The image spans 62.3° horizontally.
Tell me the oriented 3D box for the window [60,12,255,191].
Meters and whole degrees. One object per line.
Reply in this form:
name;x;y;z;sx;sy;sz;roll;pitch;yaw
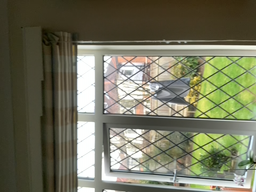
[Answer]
window;0.260;0.350;1.570;0.380;1.360;1.750;-49;-40;-78
